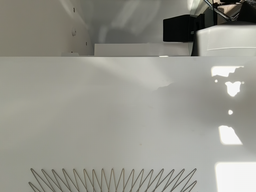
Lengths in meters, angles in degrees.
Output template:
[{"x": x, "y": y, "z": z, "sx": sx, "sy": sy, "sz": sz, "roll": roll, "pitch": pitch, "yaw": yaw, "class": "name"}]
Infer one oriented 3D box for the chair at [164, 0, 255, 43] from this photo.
[{"x": 1.060, "y": -1.000, "z": 2.920, "sx": 0.550, "sy": 1.020, "sz": 0.470, "roll": -90, "pitch": 0, "yaw": -81, "class": "chair"}]
